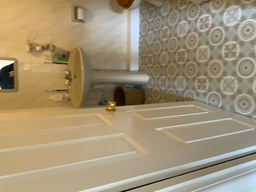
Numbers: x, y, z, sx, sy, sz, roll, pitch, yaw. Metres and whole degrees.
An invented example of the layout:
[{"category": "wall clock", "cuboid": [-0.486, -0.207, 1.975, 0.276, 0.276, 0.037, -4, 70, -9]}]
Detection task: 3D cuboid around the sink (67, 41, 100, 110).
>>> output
[{"category": "sink", "cuboid": [-0.460, -0.200, 2.120, 0.500, 0.180, 0.600, 10, 100, 60]}]
